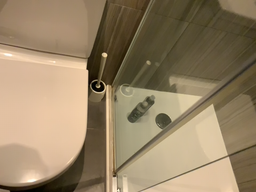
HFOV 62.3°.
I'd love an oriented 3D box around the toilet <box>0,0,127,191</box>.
[{"bbox_3d":[-0.340,0.000,0.790,0.410,0.780,0.650,6,58,-18],"label":"toilet"}]
